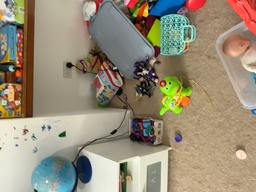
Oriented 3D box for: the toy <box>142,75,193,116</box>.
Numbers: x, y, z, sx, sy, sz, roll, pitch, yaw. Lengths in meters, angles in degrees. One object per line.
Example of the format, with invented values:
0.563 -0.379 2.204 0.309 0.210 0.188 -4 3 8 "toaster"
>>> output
0.260 -0.010 1.410 0.230 0.220 0.240 7 95 45 "toy"
